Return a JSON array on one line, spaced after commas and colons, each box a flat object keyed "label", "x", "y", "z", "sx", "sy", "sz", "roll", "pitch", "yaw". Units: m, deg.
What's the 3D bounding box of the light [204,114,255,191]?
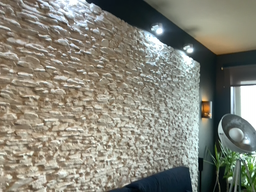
[{"label": "light", "x": 1.600, "y": 1.000, "z": 3.110, "sx": 0.720, "sy": 1.410, "sz": 0.730, "roll": -1, "pitch": -6, "yaw": 36}]
